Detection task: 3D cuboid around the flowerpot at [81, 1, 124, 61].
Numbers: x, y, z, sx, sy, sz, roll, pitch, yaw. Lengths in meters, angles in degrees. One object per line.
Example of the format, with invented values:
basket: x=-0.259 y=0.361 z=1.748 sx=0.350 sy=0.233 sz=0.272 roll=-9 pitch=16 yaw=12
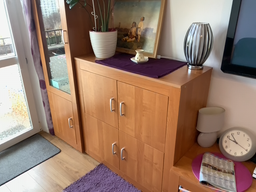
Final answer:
flowerpot: x=-0.200 y=-0.540 z=1.740 sx=0.200 sy=0.430 sz=0.270 roll=21 pitch=31 yaw=38
